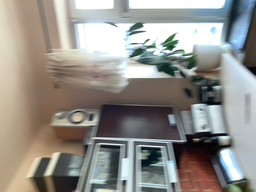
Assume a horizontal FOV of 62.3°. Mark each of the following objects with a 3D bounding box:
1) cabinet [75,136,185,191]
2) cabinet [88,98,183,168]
[{"bbox_3d":[0.010,0.680,1.310,0.900,0.630,0.330,-88,-1,-59],"label":"cabinet"},{"bbox_3d":[0.060,0.310,1.950,0.590,0.730,0.320,-88,-1,-59],"label":"cabinet"}]
